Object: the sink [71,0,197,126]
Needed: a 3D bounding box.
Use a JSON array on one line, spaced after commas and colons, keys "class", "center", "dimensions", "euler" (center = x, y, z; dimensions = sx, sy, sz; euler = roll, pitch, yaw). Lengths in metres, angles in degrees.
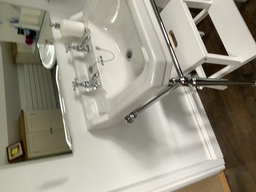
[{"class": "sink", "center": [-0.040, -0.240, 0.960], "dimensions": [0.490, 0.180, 0.610], "euler": [-38, 61, 48]}]
